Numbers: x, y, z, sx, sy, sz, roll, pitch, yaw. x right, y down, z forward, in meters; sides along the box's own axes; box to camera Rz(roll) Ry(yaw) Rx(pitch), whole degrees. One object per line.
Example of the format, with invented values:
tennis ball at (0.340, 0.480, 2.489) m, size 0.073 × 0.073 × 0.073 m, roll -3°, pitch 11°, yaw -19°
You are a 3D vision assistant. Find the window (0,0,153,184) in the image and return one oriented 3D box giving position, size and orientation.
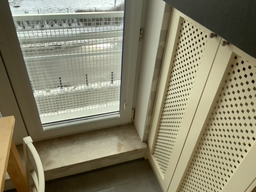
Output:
window at (-0.630, -0.400, 0.870) m, size 1.540 × 2.430 × 0.130 m, roll -8°, pitch 40°, yaw -17°
